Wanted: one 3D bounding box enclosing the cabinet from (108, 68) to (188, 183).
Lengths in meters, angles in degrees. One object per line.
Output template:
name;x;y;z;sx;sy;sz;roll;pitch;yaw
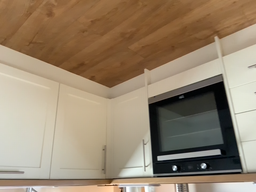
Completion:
cabinet;0.170;0.310;1.990;0.420;0.910;0.580;-20;152;37

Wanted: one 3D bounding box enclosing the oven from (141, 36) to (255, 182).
oven;0.550;0.170;1.670;0.600;0.910;0.610;-20;152;37
